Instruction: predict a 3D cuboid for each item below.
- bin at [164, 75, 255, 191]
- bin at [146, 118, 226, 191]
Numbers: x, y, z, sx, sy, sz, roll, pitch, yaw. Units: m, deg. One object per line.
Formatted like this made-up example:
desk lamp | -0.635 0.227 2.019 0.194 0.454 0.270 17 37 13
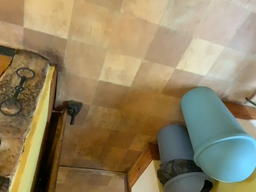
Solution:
bin | 0.600 0.260 1.470 0.410 0.690 0.390 15 128 -20
bin | 0.420 0.550 1.740 0.340 0.620 0.350 12 128 -18
